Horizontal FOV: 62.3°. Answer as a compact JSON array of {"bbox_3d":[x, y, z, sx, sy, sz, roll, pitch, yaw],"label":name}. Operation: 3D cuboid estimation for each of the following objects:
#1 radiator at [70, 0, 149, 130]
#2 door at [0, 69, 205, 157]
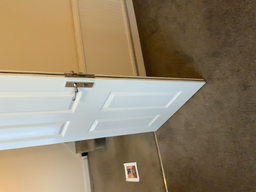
[{"bbox_3d":[-0.220,-0.590,2.100,0.080,0.610,1.780,-28,68,55],"label":"radiator"},{"bbox_3d":[-0.380,0.140,1.400,0.780,1.930,0.040,-58,45,41],"label":"door"}]
